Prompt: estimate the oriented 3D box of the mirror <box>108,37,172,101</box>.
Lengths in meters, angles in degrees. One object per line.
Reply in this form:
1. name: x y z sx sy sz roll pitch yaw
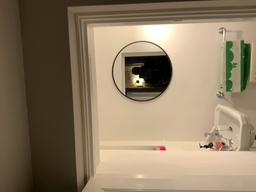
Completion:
1. mirror: 0.120 -0.260 2.100 0.050 0.620 0.610 -69 -22 -81
